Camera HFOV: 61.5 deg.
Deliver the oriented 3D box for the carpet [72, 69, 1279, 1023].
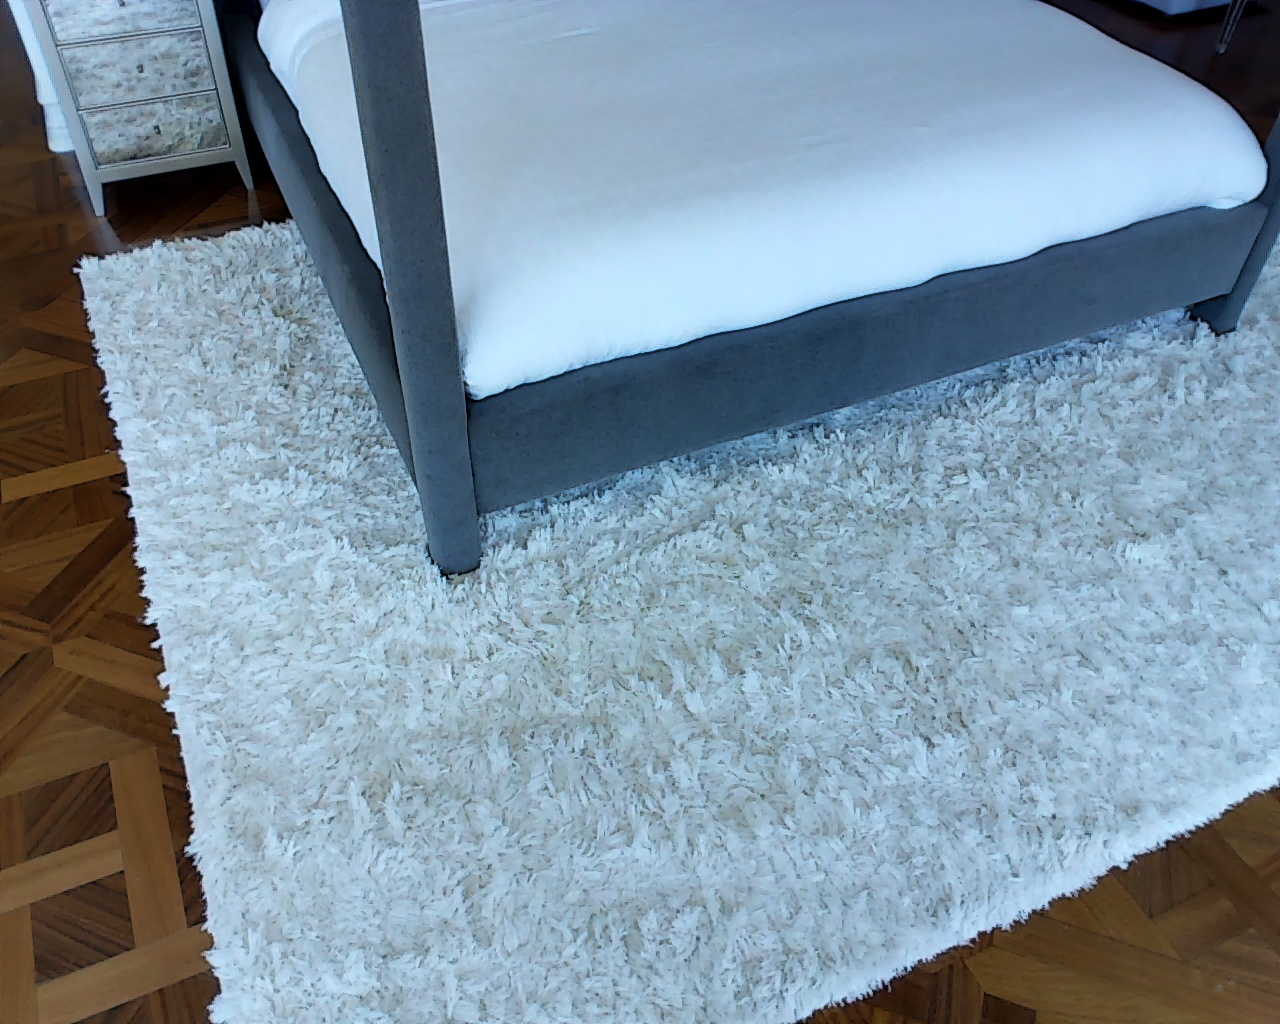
[{"bbox_3d":[0.510,-0.340,2.650,3.360,0.020,2.640,-17,47,-18],"label":"carpet"}]
